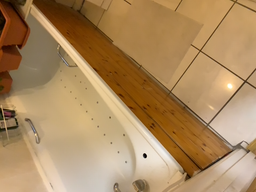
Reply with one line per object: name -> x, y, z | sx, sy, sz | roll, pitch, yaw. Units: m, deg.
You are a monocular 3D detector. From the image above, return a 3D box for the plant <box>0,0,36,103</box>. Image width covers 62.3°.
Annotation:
plant -> -0.940, -0.340, 1.440 | 0.510, 0.250, 0.590 | 47, 116, 30
